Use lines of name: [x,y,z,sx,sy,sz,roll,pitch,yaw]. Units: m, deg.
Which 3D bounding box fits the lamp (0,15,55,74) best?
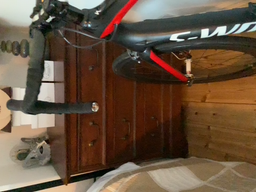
lamp: [-0.710,-0.280,1.230,0.310,0.480,0.270,1,92,59]
